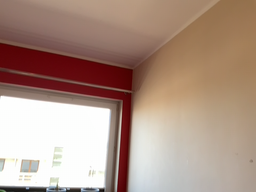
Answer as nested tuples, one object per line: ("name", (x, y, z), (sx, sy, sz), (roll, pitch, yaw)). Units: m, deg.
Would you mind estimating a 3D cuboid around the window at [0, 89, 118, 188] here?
("window", (-0.830, 0.510, 2.440), (1.400, 0.990, 0.130), (9, -14, -22))
